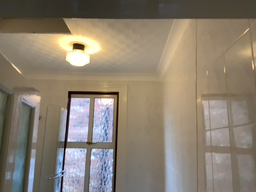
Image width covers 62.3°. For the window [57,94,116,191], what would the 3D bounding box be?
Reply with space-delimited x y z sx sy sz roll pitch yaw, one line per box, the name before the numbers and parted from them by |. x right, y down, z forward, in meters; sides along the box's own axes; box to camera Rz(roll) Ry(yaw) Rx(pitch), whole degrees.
window | -0.540 0.710 2.820 0.710 1.470 0.080 1 -11 3
